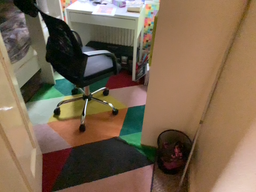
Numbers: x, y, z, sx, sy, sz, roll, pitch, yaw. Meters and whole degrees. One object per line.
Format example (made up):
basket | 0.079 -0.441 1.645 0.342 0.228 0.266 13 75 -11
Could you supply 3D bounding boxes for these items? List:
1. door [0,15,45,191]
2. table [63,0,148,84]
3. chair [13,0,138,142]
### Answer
door | -0.510 -0.070 0.740 0.050 1.900 0.770 -9 40 -14
table | -0.220 -0.680 2.510 0.770 0.740 0.620 9 39 8
chair | -0.390 -0.270 1.810 0.640 0.960 0.610 -30 49 -34
